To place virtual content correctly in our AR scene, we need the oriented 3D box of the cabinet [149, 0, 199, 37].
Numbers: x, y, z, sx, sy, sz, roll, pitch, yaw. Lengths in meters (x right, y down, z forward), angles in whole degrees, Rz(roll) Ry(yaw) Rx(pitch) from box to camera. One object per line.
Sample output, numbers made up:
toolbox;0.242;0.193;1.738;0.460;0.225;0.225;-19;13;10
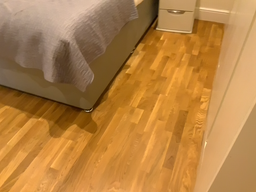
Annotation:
cabinet;0.560;-1.070;2.490;0.460;0.510;0.480;15;45;17
